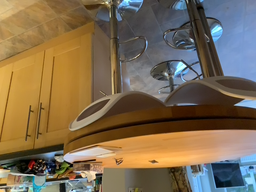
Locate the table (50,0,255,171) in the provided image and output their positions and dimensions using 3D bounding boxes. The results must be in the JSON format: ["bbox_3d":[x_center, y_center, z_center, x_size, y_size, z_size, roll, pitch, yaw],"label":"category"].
[{"bbox_3d":[0.260,-0.080,1.400,0.970,0.940,0.980,-12,154,18],"label":"table"}]
